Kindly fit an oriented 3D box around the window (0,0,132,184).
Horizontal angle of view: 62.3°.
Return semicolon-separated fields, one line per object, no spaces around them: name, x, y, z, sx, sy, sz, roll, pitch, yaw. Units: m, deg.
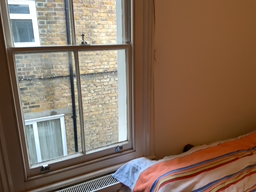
window;-0.350;-0.170;1.360;0.780;1.360;0.090;-9;17;-27
